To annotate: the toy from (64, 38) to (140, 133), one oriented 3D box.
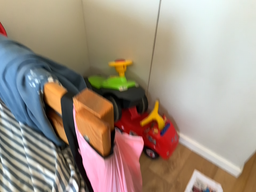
[{"bbox_3d":[-0.190,-0.070,1.620,0.470,0.550,0.230,30,52,22],"label":"toy"}]
